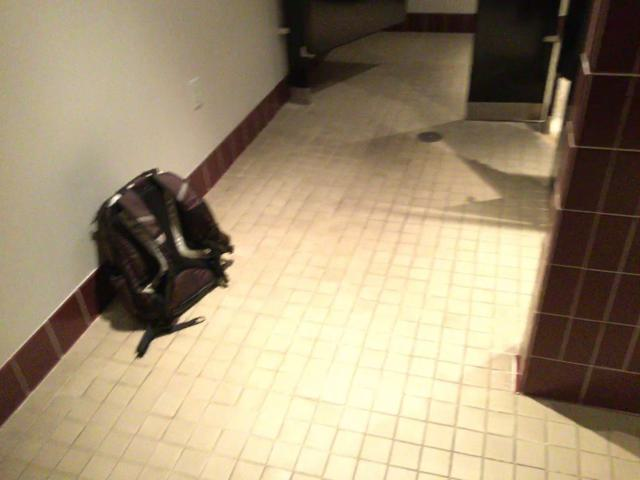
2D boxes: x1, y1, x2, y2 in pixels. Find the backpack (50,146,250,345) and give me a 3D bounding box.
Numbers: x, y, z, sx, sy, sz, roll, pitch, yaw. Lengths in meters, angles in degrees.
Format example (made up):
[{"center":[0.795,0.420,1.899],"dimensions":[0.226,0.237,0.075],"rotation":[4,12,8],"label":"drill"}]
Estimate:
[{"center":[-0.540,0.000,1.960],"dimensions":[0.360,0.450,0.440],"rotation":[12,37,25],"label":"backpack"}]
